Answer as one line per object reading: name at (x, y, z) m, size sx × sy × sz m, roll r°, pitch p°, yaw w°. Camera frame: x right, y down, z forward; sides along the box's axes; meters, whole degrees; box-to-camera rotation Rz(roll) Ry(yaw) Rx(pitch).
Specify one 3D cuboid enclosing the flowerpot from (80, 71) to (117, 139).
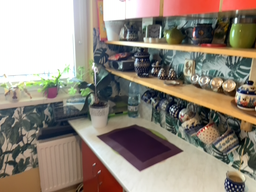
flowerpot at (-0.220, 0.050, 1.540) m, size 0.170 × 0.420 × 0.250 m, roll -8°, pitch 19°, yaw -30°
